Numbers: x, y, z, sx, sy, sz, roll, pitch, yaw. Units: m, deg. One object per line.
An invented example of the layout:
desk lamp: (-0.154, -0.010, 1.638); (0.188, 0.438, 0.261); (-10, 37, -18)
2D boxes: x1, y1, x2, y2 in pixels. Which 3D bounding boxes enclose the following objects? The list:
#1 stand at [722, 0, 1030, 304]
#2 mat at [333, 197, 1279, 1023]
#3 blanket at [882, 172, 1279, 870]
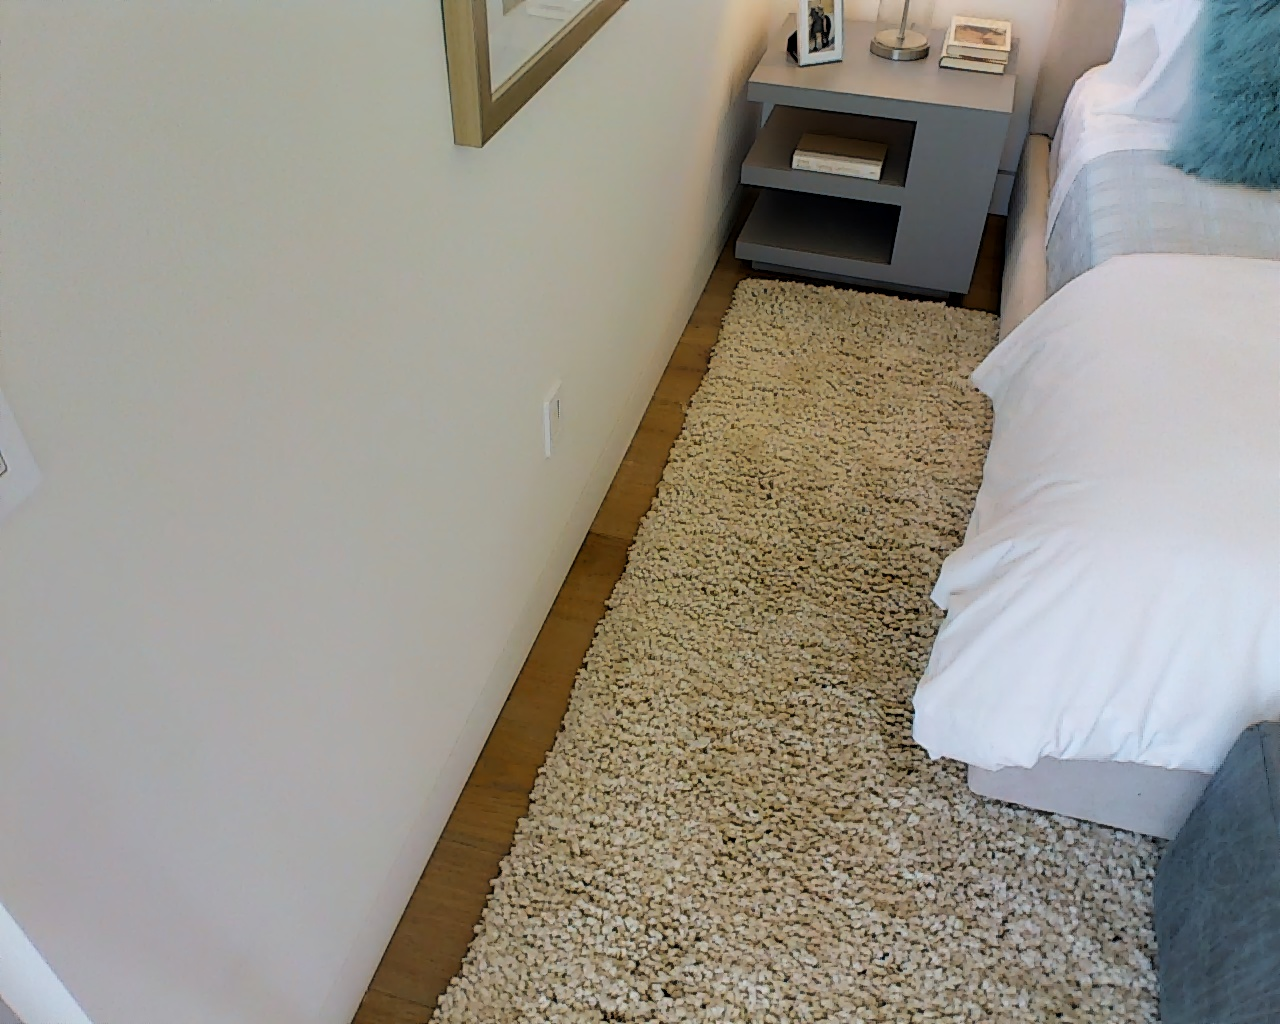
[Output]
stand: (0.680, -1.070, 3.110); (0.720, 0.570, 0.650); (12, 43, 11)
mat: (1.490, 0.310, 2.000); (3.300, 0.090, 2.900); (12, 43, 11)
blanket: (1.490, 0.070, 1.670); (2.020, 0.520, 1.050); (11, 43, 11)
